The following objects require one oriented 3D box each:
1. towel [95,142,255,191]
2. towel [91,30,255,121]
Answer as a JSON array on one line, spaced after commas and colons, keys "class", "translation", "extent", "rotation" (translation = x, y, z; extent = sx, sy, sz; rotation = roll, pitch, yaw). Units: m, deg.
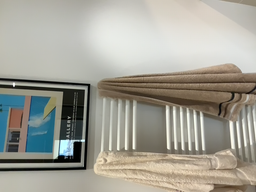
[{"class": "towel", "translation": [0.300, 0.380, 1.040], "extent": [0.150, 0.900, 0.290], "rotation": [134, 137, -71]}, {"class": "towel", "translation": [0.460, -0.070, 1.180], "extent": [0.200, 1.290, 0.360], "rotation": [128, 143, -69]}]
